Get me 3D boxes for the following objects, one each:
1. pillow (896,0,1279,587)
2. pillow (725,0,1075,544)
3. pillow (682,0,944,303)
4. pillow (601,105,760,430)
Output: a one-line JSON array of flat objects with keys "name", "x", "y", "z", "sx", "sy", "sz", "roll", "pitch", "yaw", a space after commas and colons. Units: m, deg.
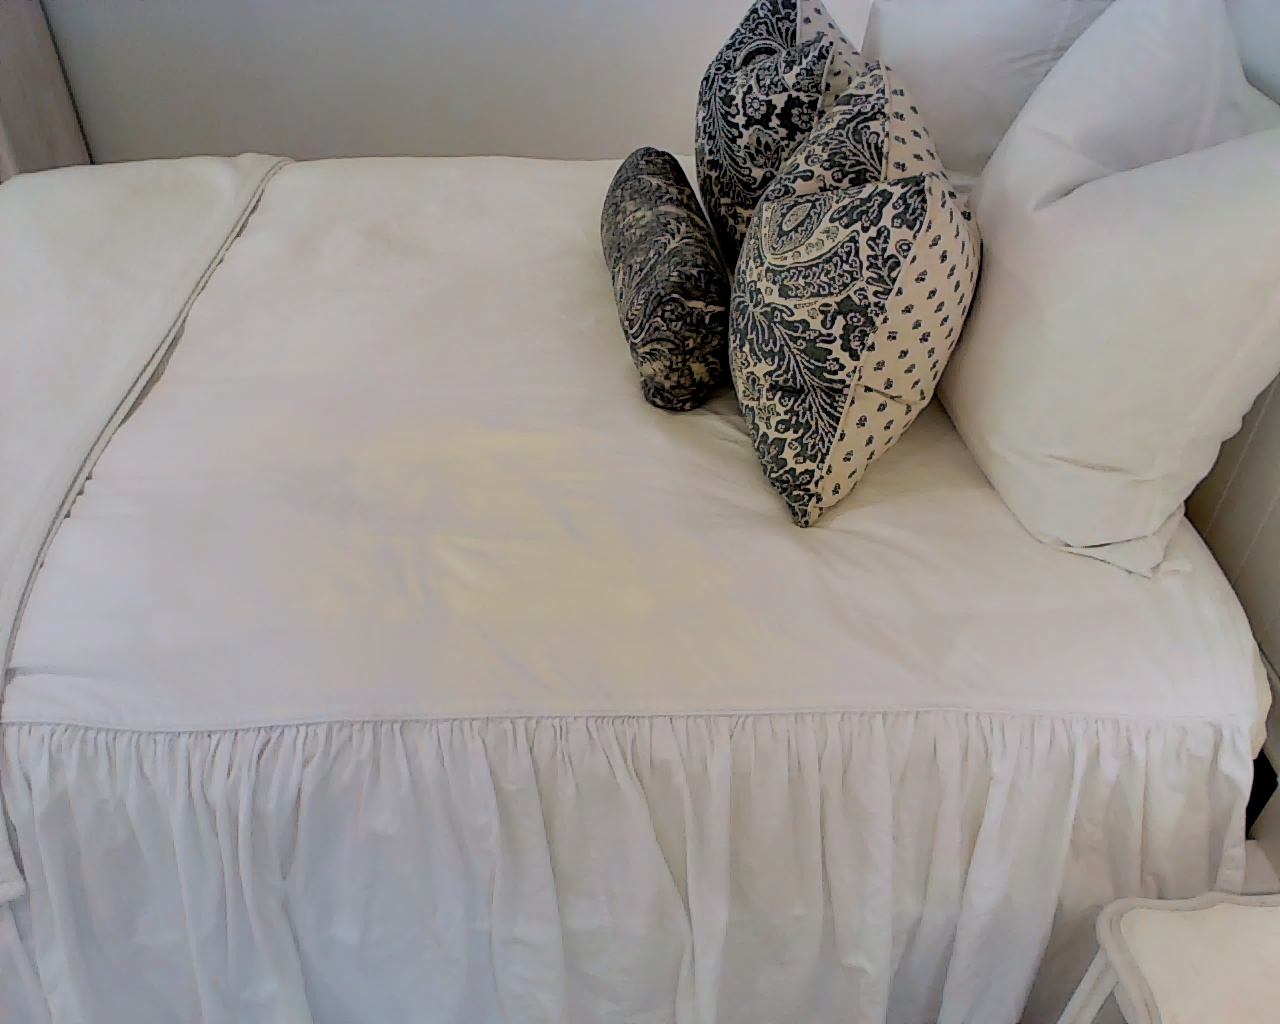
[{"name": "pillow", "x": 0.550, "y": -0.300, "z": 1.210, "sx": 0.340, "sy": 0.590, "sz": 0.490, "roll": 1, "pitch": 44, "yaw": 0}, {"name": "pillow", "x": 0.260, "y": -0.290, "z": 1.290, "sx": 0.260, "sy": 0.420, "sz": 0.500, "roll": 1, "pitch": 48, "yaw": 0}, {"name": "pillow", "x": 0.230, "y": -0.610, "z": 1.630, "sx": 0.250, "sy": 0.400, "sz": 0.390, "roll": -6, "pitch": 51, "yaw": -6}, {"name": "pillow", "x": 0.040, "y": -0.370, "z": 1.530, "sx": 0.140, "sy": 0.150, "sz": 0.570, "roll": -4, "pitch": 47, "yaw": -5}]
